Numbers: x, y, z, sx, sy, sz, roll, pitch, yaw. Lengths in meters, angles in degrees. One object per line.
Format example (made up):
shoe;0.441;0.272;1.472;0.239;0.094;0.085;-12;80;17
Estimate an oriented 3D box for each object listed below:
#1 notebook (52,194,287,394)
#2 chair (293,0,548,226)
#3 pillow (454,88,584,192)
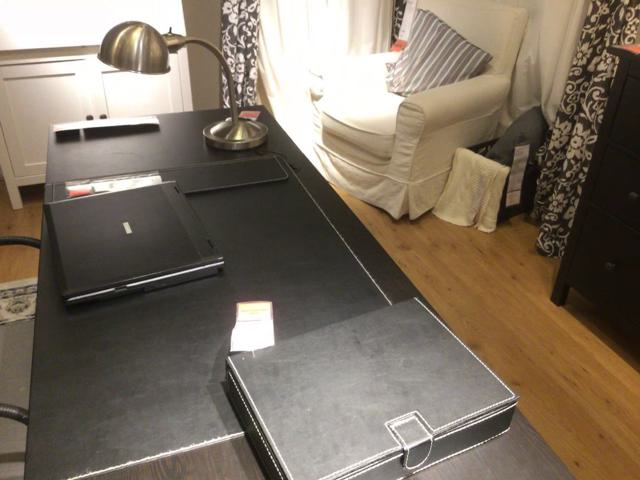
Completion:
notebook;-0.290;0.060;1.040;0.300;0.050;0.440;-16;35;-23
chair;0.450;-0.710;2.730;0.890;0.840;0.700;-26;40;-35
pillow;0.850;-0.450;2.530;0.310;0.280;0.420;-11;33;-17
